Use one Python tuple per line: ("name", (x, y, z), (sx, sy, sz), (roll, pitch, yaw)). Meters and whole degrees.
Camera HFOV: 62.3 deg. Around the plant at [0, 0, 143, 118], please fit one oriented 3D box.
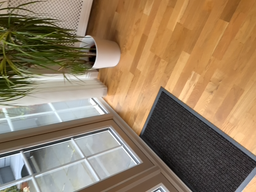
("plant", (-0.650, -0.310, 1.580), (0.650, 1.320, 0.560), (42, 124, 36))
